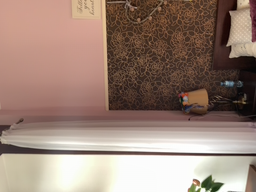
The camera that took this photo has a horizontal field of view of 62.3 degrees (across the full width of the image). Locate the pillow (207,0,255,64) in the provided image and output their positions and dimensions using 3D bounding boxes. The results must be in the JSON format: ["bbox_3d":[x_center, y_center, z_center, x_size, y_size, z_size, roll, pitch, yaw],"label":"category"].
[{"bbox_3d":[1.160,-0.690,1.990,0.620,0.440,0.220,-49,11,11],"label":"pillow"}]

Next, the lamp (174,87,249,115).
[{"bbox_3d":[0.850,0.040,2.230,0.290,0.660,0.220,-80,-10,-77],"label":"lamp"}]
